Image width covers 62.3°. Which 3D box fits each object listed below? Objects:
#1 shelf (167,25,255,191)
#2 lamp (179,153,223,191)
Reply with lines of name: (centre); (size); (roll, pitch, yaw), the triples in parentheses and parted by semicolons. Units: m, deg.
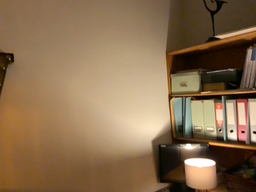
shelf: (0.790, 0.130, 1.680); (0.360, 1.150, 0.850); (-2, -1, -42)
lamp: (0.490, 0.570, 1.420); (0.230, 0.300, 0.180); (-2, -2, -43)
